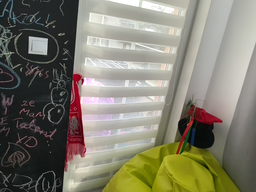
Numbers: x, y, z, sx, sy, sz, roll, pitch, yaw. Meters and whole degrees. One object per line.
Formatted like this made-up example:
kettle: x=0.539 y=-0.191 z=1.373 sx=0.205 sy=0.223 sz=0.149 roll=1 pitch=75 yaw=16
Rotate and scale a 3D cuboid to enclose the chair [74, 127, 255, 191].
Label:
chair: x=0.250 y=0.770 z=1.360 sx=0.940 sy=0.700 sz=0.940 roll=-1 pitch=21 yaw=-30
